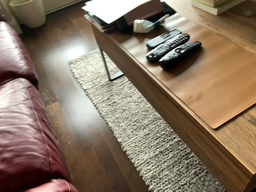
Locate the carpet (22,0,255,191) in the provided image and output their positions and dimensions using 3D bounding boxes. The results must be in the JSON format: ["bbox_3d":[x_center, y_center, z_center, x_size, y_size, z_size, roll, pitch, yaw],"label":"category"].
[{"bbox_3d":[0.290,-0.120,1.330,1.560,0.050,2.310,-28,48,-13],"label":"carpet"}]
